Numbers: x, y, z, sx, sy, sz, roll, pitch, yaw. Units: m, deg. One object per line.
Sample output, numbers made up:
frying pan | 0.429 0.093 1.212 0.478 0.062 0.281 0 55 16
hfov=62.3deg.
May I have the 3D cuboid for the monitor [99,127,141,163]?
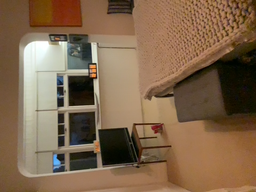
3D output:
monitor | -0.160 0.760 3.410 0.710 0.560 0.040 -111 22 -55
